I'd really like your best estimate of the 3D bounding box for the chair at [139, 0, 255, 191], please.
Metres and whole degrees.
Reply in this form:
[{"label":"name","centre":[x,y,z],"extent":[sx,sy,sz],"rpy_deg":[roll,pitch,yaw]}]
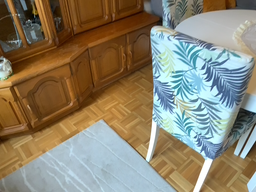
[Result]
[{"label":"chair","centre":[0.420,0.060,1.250],"extent":[0.580,0.990,0.390],"rpy_deg":[-30,48,-30]}]
